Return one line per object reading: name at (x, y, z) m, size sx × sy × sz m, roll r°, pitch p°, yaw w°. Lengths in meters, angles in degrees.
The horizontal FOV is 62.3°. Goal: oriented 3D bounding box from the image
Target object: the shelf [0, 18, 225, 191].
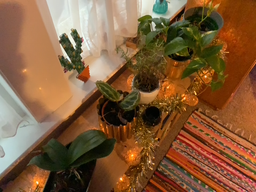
shelf at (0.020, 0.190, 1.190) m, size 0.300 × 0.620 × 1.220 m, roll 34°, pitch 63°, yaw 19°
